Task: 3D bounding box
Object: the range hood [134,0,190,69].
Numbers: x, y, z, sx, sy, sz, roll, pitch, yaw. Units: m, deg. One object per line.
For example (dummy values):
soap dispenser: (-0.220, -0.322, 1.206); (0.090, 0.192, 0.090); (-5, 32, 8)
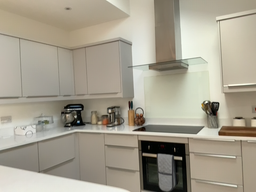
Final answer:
range hood: (0.450, -0.900, 2.820); (0.640, 1.010, 0.300); (-2, 1, 28)
